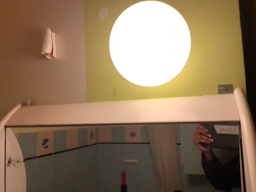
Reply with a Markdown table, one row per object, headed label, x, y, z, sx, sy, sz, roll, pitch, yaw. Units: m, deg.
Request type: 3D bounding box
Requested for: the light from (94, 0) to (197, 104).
| label | x | y | z | sx | sy | sz | roll | pitch | yaw |
| --- | --- | --- | --- | --- | --- | --- | --- | --- | --- |
| light | 0.060 | -0.130 | 0.590 | 0.220 | 0.220 | 0.280 | -5 | -89 | -75 |
